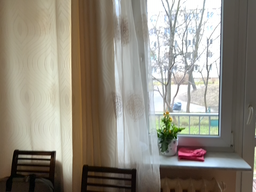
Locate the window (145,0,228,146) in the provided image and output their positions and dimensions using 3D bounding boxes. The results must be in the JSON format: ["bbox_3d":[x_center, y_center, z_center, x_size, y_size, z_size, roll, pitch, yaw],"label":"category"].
[{"bbox_3d":[0.410,-0.320,1.580,0.560,1.370,0.150,0,7,6],"label":"window"}]
